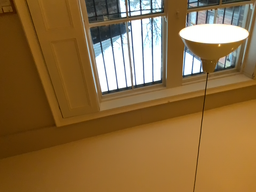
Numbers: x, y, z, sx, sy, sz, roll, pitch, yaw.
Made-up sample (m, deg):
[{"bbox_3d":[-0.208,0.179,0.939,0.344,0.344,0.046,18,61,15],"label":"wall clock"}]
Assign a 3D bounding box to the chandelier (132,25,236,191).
[{"bbox_3d":[0.560,0.330,1.690,0.420,0.360,1.670,-38,131,-15],"label":"chandelier"}]
